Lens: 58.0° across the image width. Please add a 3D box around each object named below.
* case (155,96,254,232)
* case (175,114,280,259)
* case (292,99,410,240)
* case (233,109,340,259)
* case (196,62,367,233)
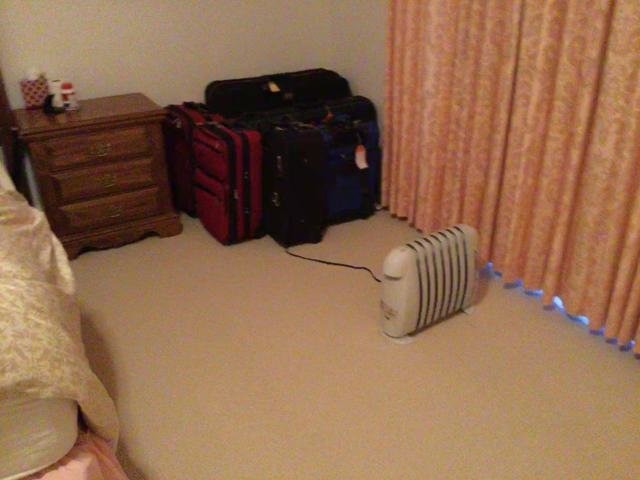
[{"bbox_3d":[-0.630,-0.430,3.170,0.330,0.600,0.410,-18,29,-26],"label":"case"},{"bbox_3d":[-0.460,-0.280,2.900,0.320,0.580,0.390,-18,29,-26],"label":"case"},{"bbox_3d":[0.170,-0.380,3.000,0.500,0.570,0.310,-18,29,-26],"label":"case"},{"bbox_3d":[-0.160,-0.290,2.850,0.330,0.590,0.400,-18,29,-26],"label":"case"},{"bbox_3d":[-0.200,-0.560,3.350,0.820,0.760,0.430,-16,29,-23],"label":"case"}]
